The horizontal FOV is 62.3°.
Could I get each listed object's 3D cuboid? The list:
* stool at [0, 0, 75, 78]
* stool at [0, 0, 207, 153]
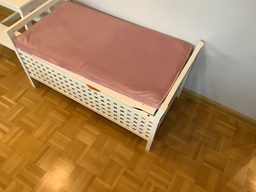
[{"bbox_3d":[-0.720,-0.520,1.460,0.450,0.490,0.440,29,58,15],"label":"stool"},{"bbox_3d":[-0.130,-0.190,1.290,0.940,0.460,0.520,27,58,14],"label":"stool"}]
